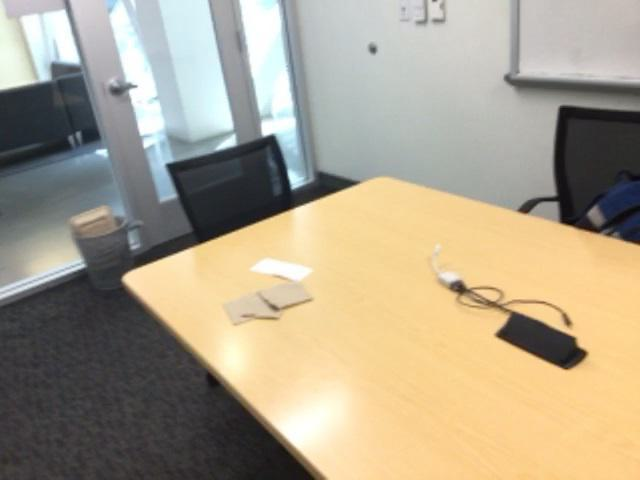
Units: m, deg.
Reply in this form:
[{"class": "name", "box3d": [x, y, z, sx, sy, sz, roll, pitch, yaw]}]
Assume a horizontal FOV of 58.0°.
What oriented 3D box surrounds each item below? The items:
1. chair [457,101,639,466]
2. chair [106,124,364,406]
[{"class": "chair", "box3d": [0.860, 0.090, 1.820, 0.620, 0.880, 0.560, 16, 35, 40]}, {"class": "chair", "box3d": [-0.270, 0.040, 2.010, 0.610, 0.680, 0.500, -24, 30, -29]}]
